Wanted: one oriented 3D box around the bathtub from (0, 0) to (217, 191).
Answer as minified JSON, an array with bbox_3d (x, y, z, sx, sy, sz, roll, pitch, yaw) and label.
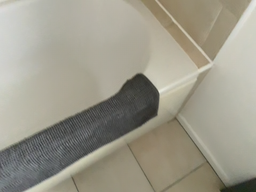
[{"bbox_3d":[-0.620,0.120,0.920,1.740,0.560,0.730,-26,67,-17],"label":"bathtub"}]
